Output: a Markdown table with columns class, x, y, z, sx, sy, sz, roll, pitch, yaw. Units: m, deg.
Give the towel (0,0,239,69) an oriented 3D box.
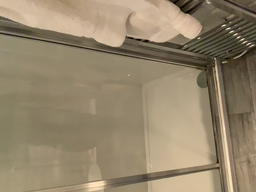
| class | x | y | z | sx | sy | sz | roll | pitch | yaw |
| --- | --- | --- | --- | --- | --- | --- | --- | --- | --- |
| towel | -0.140 | -0.270 | 0.660 | 0.410 | 0.950 | 0.180 | -15 | 75 | 58 |
